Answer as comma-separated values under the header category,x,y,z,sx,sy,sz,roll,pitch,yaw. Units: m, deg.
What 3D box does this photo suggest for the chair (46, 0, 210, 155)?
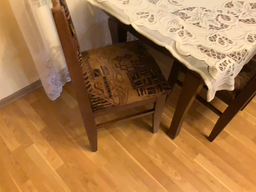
category,x,y,z,sx,sy,sz,roll,pitch,yaw
chair,-0.060,-0.150,1.110,0.490,0.940,0.460,-12,54,-12
